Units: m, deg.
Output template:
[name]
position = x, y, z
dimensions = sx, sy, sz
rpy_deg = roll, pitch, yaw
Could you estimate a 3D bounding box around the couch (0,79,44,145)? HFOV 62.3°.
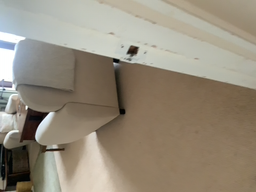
[couch]
position = -2.070, 0.330, 3.850
dimensions = 0.810, 0.810, 0.920
rpy_deg = -35, 58, 46
